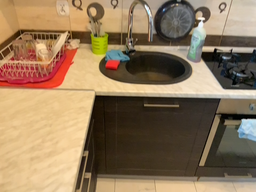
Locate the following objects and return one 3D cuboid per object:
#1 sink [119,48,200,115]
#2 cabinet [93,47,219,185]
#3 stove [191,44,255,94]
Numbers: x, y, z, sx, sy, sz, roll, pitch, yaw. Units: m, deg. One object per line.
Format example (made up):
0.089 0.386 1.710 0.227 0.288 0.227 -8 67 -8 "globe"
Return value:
0.170 -0.120 1.420 0.440 0.220 0.480 2 35 -2 "sink"
0.130 0.150 1.590 0.660 0.830 0.590 2 35 -2 "cabinet"
0.800 -0.190 1.360 0.640 0.040 0.590 2 35 -2 "stove"
